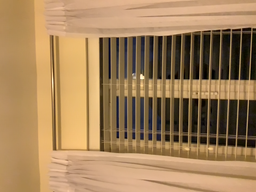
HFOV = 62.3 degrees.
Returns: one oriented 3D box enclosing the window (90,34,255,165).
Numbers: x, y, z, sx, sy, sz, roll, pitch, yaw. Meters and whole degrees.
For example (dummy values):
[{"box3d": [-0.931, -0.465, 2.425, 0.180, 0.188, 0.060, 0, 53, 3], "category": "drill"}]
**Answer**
[{"box3d": [0.400, 0.020, 1.210, 0.090, 1.250, 0.690, -35, -55, -77], "category": "window"}]
